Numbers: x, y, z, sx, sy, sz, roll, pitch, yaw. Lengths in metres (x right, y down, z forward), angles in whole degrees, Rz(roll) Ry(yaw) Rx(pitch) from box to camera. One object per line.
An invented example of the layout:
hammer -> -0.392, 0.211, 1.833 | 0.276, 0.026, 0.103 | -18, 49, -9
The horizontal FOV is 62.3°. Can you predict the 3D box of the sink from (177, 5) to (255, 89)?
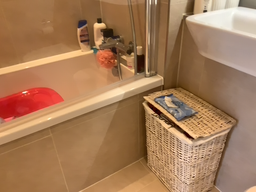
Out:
sink -> 0.530, -0.190, 0.770 | 0.430, 0.150, 0.530 | -20, 37, -26
